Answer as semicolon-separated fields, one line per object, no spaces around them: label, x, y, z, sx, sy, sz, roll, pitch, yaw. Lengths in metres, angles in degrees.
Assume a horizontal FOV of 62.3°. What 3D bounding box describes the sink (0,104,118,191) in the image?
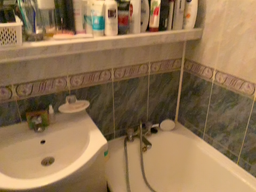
sink;-0.360;0.250;0.940;0.500;0.160;0.410;-14;29;-27
